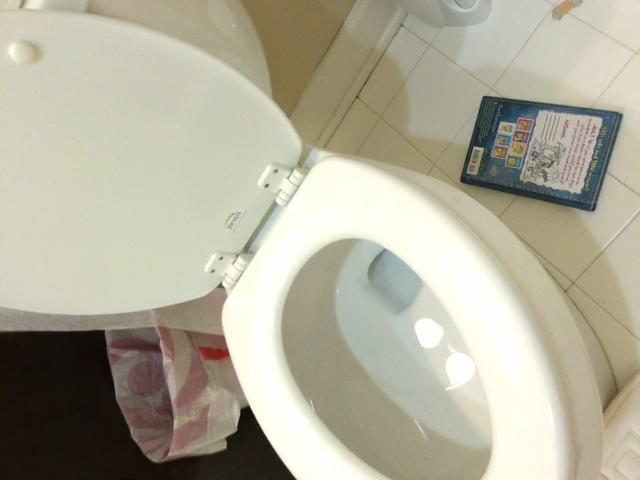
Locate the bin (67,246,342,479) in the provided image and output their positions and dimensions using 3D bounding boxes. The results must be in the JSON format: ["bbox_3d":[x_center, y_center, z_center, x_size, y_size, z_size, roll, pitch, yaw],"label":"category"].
[{"bbox_3d":[-0.220,0.220,1.090,0.320,0.230,0.350,5,36,-50],"label":"bin"}]
